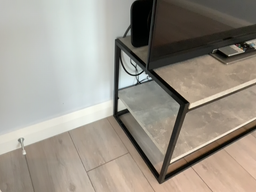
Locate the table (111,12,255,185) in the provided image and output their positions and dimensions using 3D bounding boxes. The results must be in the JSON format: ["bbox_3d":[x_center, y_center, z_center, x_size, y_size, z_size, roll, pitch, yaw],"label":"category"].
[{"bbox_3d":[0.470,-0.080,1.020,1.010,0.410,0.420,-18,45,-24],"label":"table"}]
